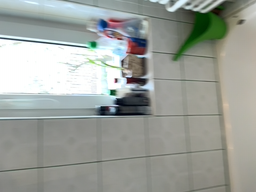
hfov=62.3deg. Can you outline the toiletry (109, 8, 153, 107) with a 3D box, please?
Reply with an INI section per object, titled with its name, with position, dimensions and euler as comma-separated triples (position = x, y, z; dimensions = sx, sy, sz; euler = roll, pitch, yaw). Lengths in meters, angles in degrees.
[toiletry]
position = 0.010, -0.210, 1.260
dimensions = 0.200, 0.170, 0.530
euler = 159, 110, -65
